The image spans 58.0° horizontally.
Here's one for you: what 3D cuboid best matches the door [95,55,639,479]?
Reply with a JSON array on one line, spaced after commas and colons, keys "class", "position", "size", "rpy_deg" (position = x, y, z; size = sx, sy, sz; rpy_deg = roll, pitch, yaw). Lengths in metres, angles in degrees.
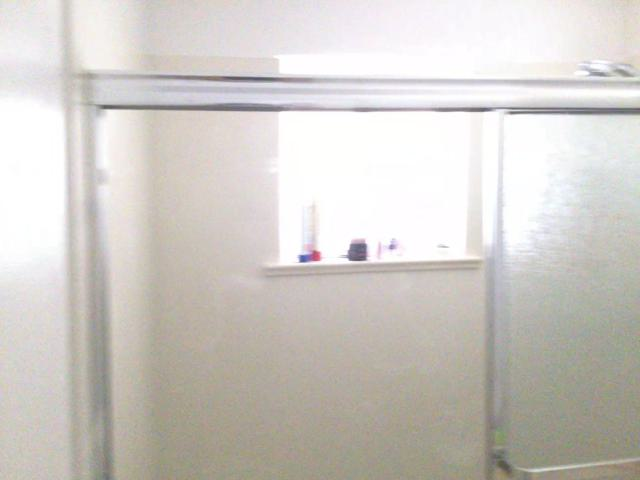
[{"class": "door", "position": [0.350, 0.400, 1.070], "size": [1.410, 1.420, 0.130], "rpy_deg": [-1, 1, -6]}]
